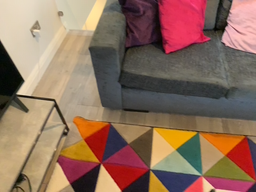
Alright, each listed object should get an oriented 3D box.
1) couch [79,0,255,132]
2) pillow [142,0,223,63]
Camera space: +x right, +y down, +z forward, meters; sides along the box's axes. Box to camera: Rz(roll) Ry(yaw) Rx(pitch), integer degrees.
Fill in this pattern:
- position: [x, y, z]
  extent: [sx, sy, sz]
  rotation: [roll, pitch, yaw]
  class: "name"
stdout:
- position: [0.650, -0.330, 1.570]
  extent: [1.690, 0.770, 0.870]
  rotation: [3, 51, 5]
  class: "couch"
- position: [0.400, -0.550, 1.530]
  extent: [0.420, 0.430, 0.140]
  rotation: [-36, 30, 3]
  class: "pillow"
